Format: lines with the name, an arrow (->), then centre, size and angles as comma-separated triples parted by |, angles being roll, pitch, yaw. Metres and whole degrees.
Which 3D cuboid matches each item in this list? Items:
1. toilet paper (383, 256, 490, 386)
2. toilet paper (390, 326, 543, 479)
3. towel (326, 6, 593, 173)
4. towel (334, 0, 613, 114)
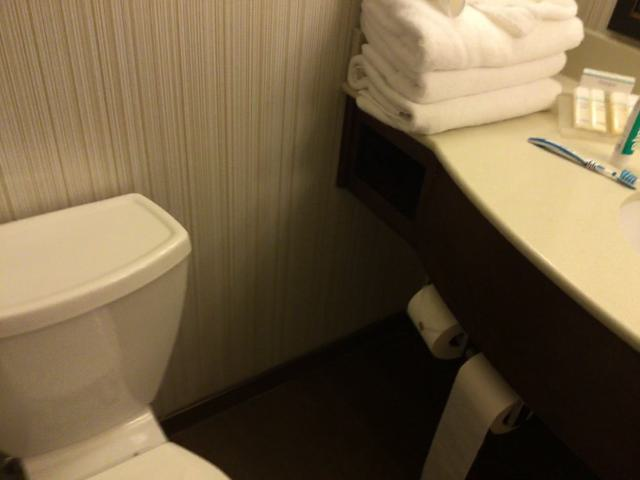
toilet paper -> 0.210, 0.150, 1.080 | 0.080, 0.170, 0.150 | -18, 44, -30
toilet paper -> 0.250, 0.390, 1.090 | 0.090, 0.470, 0.150 | -18, 44, -30
towel -> 0.250, -0.300, 1.080 | 0.360, 0.160, 0.290 | -18, 44, -30
towel -> 0.260, -0.390, 1.010 | 0.350, 0.180, 0.290 | -18, 44, -30
